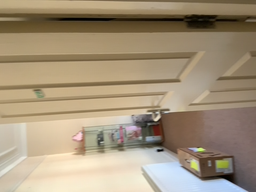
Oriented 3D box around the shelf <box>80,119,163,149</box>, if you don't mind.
[{"bbox_3d":[-0.160,0.780,4.490,0.570,1.640,0.440,155,112,-79],"label":"shelf"}]
